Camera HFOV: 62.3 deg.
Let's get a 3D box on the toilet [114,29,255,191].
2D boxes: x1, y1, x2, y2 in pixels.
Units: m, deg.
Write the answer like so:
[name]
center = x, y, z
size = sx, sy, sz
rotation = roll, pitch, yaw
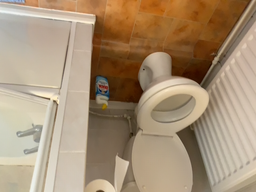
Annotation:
[toilet]
center = 0.210, 0.160, 1.270
size = 0.460, 0.850, 0.650
rotation = 5, 140, -13
